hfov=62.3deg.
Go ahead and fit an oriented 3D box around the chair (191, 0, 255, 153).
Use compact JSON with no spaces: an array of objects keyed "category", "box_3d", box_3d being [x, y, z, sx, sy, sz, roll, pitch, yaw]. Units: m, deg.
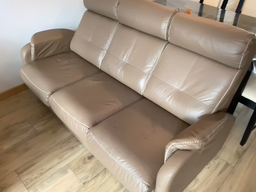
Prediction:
[{"category":"chair","box_3d":[0.970,-0.170,1.660,0.420,1.070,0.560,-27,48,-30]}]
